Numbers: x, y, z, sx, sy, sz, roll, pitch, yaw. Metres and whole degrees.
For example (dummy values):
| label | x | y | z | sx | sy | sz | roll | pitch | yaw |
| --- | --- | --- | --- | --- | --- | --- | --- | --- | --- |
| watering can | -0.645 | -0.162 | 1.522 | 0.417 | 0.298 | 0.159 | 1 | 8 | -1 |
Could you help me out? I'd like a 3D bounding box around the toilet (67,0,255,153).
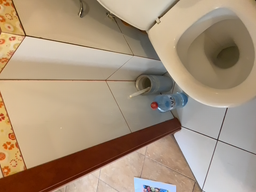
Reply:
| label | x | y | z | sx | sy | sz | roll | pitch | yaw |
| --- | --- | --- | --- | --- | --- | --- | --- | --- | --- |
| toilet | 0.220 | -0.290 | 0.770 | 0.360 | 0.780 | 0.700 | -35 | 74 | 30 |
